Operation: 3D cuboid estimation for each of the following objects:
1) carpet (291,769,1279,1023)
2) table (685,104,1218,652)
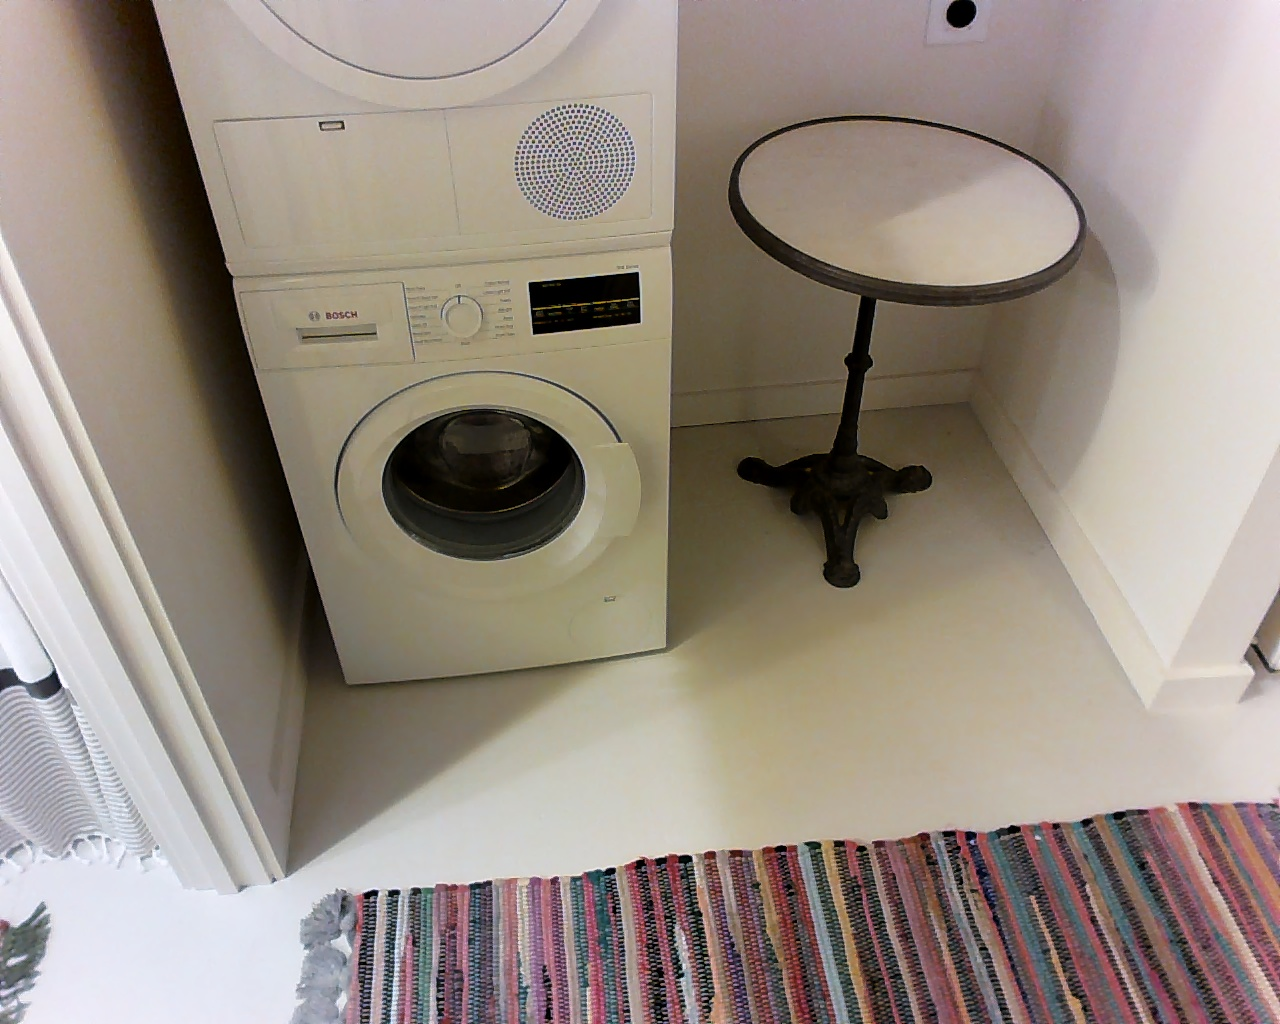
[{"bbox_3d":[0.360,0.750,1.510,1.690,0.040,0.710,-5,43,-4],"label":"carpet"},{"bbox_3d":[0.490,-0.270,2.090,0.680,0.740,0.690,-6,43,-6],"label":"table"}]
